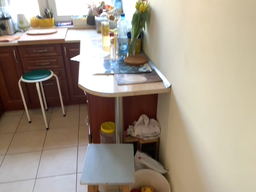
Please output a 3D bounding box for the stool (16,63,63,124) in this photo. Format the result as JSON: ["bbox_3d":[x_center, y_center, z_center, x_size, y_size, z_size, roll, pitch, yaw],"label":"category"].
[{"bbox_3d":[-0.930,-0.030,2.310,0.310,0.570,0.320,-4,30,-7],"label":"stool"}]
